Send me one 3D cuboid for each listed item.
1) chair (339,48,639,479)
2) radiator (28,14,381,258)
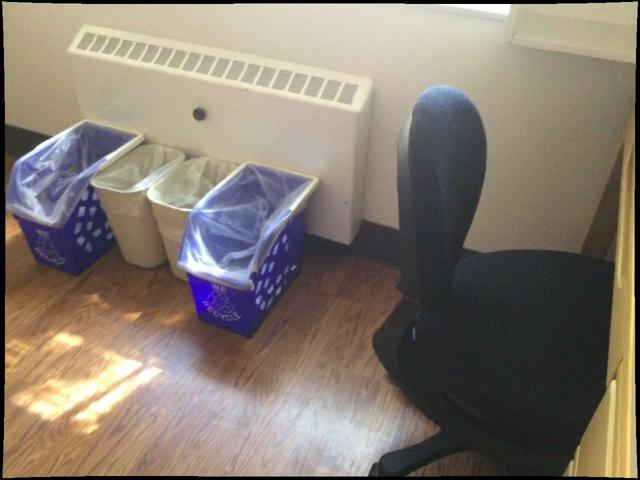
[{"bbox_3d":[0.420,0.160,1.170,0.590,0.841,0.520,14,41,15],"label":"chair"},{"bbox_3d":[-0.370,-0.340,1.870,1.079,0.570,0.160,14,41,15],"label":"radiator"}]
